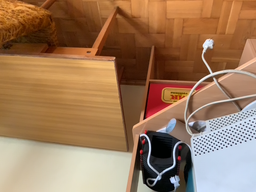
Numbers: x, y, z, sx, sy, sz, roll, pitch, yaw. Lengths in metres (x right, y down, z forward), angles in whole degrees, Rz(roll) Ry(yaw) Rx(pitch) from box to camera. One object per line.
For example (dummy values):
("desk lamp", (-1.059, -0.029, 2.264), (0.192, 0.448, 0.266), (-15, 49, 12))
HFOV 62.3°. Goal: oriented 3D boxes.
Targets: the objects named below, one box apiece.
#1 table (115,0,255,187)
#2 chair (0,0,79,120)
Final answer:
("table", (0.500, -0.150, 1.010), (0.890, 0.740, 0.950), (4, 136, 10))
("chair", (-0.560, -0.350, 1.070), (0.390, 0.750, 0.430), (16, 137, -2))
